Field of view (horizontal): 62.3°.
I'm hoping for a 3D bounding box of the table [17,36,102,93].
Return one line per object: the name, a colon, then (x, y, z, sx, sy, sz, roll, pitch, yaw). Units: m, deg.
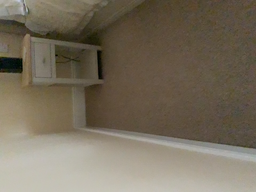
table: (-0.650, -0.250, 1.990, 0.480, 0.640, 0.400, -6, 86, 55)
